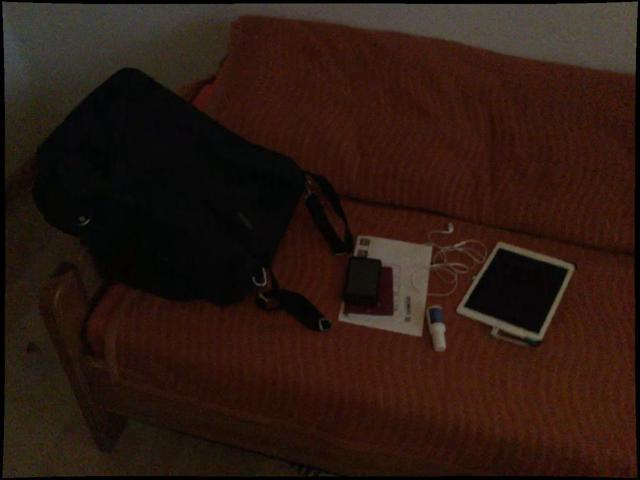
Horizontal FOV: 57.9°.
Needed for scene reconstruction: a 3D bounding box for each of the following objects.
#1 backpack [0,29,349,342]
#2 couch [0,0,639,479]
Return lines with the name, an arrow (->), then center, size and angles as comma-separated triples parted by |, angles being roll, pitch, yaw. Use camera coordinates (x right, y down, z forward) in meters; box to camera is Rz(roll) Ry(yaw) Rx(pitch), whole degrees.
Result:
backpack -> -0.240, -0.140, 1.170 | 0.490, 0.320, 0.510 | 11, 41, 6
couch -> 0.639, 0.100, 1.320 | 2.178, 0.800, 1.030 | 11, 41, 6
